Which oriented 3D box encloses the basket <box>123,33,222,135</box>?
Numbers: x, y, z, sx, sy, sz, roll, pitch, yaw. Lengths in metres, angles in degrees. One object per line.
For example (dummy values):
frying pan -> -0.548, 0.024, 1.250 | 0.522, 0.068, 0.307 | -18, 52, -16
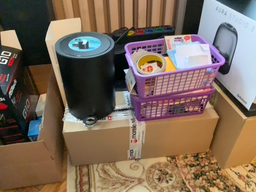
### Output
basket -> 0.130, -0.050, 0.790 | 0.260, 0.270, 0.240 | -6, 39, -7
